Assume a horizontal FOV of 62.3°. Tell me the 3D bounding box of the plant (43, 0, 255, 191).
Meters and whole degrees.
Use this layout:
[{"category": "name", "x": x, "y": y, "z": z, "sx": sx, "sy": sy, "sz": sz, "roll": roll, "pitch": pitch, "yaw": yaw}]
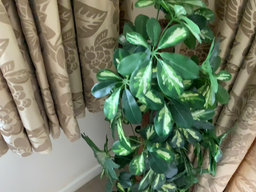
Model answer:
[{"category": "plant", "x": 0.060, "y": 0.150, "z": 0.860, "sx": 0.440, "sy": 1.140, "sz": 0.470, "roll": -24, "pitch": 45, "yaw": -29}]
